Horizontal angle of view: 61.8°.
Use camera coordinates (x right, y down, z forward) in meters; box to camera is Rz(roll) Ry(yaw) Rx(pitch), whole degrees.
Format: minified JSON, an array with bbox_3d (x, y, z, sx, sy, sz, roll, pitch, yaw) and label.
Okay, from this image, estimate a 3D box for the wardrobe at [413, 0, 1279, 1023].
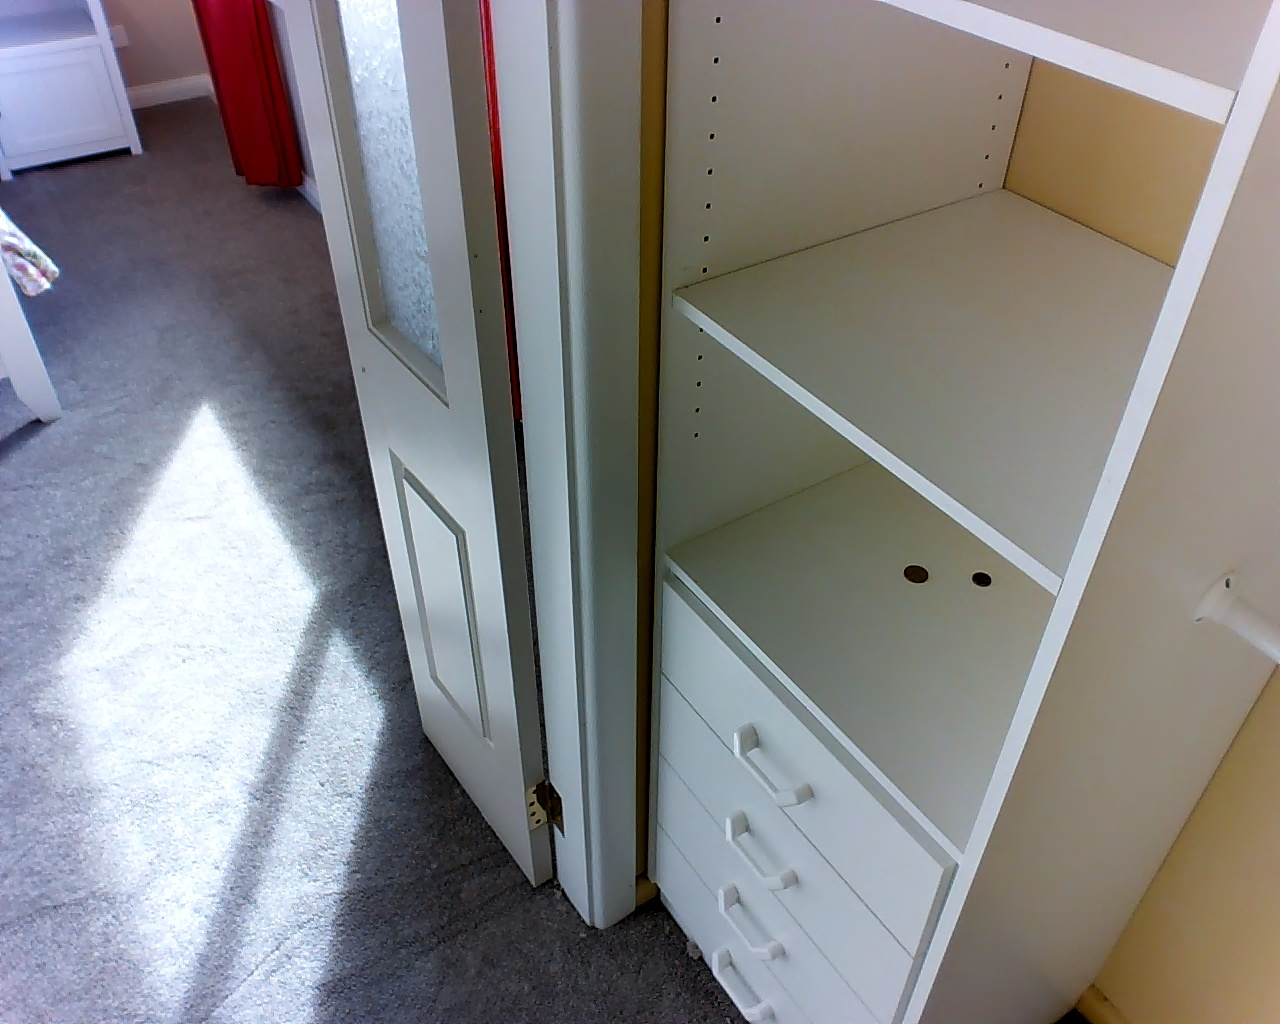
[{"bbox_3d":[0.520,0.130,0.640,0.630,2.090,1.600,-22,45,-26],"label":"wardrobe"}]
